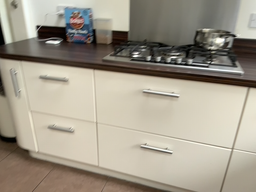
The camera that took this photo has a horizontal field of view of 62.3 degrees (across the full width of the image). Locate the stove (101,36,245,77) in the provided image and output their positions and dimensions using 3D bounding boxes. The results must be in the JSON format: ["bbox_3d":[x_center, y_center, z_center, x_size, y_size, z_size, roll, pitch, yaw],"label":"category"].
[{"bbox_3d":[0.280,-0.280,1.330,0.730,0.050,0.550,9,26,15],"label":"stove"}]
